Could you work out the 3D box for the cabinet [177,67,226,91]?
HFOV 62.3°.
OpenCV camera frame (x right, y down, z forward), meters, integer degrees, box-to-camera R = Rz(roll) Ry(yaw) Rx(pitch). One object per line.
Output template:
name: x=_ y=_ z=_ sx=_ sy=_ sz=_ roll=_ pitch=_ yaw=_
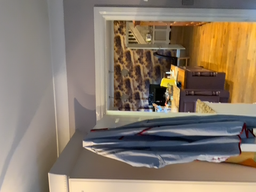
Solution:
cabinet: x=1.470 y=-0.380 z=4.410 sx=0.910 sy=0.680 sz=0.340 roll=-86 pitch=-3 yaw=-76
